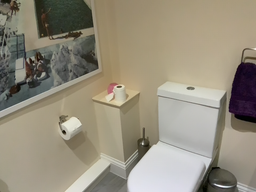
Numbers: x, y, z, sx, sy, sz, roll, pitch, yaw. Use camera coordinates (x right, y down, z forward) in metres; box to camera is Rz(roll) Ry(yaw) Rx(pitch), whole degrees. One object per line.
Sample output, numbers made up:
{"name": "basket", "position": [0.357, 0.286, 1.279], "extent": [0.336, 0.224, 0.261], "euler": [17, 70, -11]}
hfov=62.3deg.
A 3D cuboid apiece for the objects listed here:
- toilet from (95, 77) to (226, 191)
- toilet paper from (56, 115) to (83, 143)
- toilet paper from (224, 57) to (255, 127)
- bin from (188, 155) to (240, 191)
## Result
{"name": "toilet", "position": [0.230, 0.400, 1.280], "extent": [0.430, 0.800, 0.670], "euler": [14, 30, 31]}
{"name": "toilet paper", "position": [-0.380, 0.210, 1.380], "extent": [0.090, 0.110, 0.130], "euler": [13, 29, 29]}
{"name": "toilet paper", "position": [0.640, -0.020, 1.120], "extent": [0.190, 0.340, 0.080], "euler": [15, 30, 33]}
{"name": "bin", "position": [0.560, 0.610, 1.410], "extent": [0.240, 0.270, 0.240], "euler": [16, 31, 34]}
